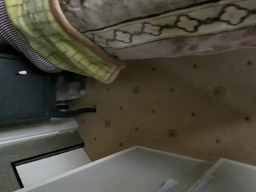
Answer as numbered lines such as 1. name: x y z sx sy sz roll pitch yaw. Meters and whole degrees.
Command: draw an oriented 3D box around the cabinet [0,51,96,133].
1. cabinet: -0.620 -0.040 1.380 0.410 0.740 0.400 3 95 37
